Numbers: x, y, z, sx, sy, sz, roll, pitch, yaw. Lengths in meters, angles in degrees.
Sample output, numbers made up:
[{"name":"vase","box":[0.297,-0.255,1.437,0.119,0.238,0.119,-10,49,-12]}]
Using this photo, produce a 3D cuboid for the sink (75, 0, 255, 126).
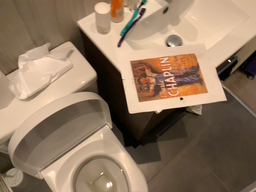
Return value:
[{"name":"sink","box":[0.200,-0.260,0.810,0.650,0.150,0.410,-38,75,-18]}]

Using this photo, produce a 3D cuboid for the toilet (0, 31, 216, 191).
[{"name":"toilet","box":[-0.170,0.290,0.940,0.410,0.810,0.650,-38,75,-18]}]
